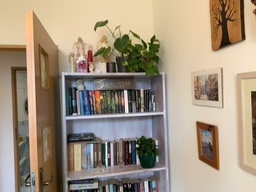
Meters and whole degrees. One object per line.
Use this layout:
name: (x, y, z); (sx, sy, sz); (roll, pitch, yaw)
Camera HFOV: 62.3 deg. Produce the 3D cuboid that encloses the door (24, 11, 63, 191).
door: (-0.550, 0.610, 1.510); (0.120, 2.100, 0.810); (-2, 0, -15)
